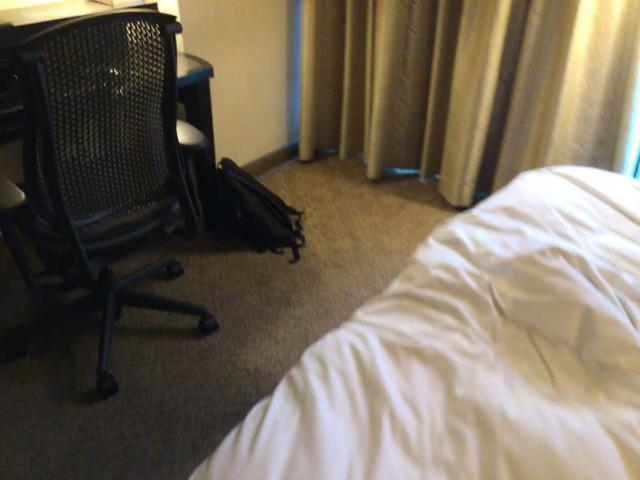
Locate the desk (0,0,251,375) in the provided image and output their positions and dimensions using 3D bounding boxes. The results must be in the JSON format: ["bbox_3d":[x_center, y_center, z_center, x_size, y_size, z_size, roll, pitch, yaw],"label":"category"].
[{"bbox_3d":[-1.080,-0.260,2.010,0.760,0.980,1.550,21,36,32],"label":"desk"}]

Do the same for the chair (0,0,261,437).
[{"bbox_3d":[-0.710,-0.190,1.800,0.740,1.160,0.680,26,39,37],"label":"chair"}]
